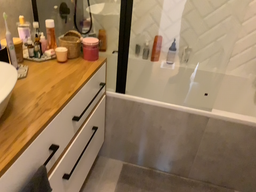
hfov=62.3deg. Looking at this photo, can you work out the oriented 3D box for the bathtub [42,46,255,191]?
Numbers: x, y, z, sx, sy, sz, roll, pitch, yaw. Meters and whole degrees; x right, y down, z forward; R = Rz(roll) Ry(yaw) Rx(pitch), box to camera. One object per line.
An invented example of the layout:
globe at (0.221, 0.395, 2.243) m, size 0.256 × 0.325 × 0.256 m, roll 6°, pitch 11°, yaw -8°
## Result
bathtub at (0.290, 0.120, 1.720) m, size 1.660 × 0.580 × 0.710 m, roll 12°, pitch 32°, yaw 9°
